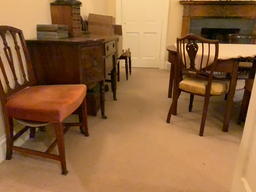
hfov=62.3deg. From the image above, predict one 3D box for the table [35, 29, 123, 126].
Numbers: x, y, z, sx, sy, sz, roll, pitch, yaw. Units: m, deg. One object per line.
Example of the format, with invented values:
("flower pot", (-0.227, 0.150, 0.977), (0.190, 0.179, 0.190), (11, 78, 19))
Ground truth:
("table", (-0.440, -0.330, 2.510), (0.560, 0.820, 1.270), (3, 20, 7))
